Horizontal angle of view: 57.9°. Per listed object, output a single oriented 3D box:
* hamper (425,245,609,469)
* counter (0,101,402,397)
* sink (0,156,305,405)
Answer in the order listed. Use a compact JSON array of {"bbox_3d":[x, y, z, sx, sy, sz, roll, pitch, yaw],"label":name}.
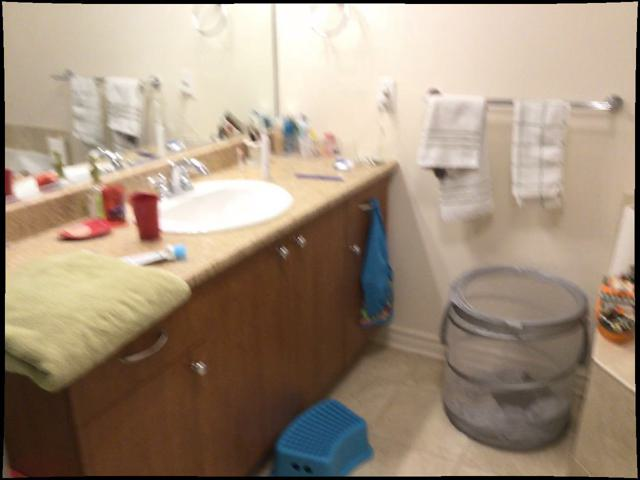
[{"bbox_3d":[0.689,0.370,2.030,0.490,0.490,0.490,9,26,27],"label":"hamper"},{"bbox_3d":[-0.300,-0.150,1.750,0.580,0.240,1.530,9,26,27],"label":"counter"},{"bbox_3d":[-0.490,0.010,1.550,0.470,0.190,0.970,9,26,27],"label":"sink"}]
